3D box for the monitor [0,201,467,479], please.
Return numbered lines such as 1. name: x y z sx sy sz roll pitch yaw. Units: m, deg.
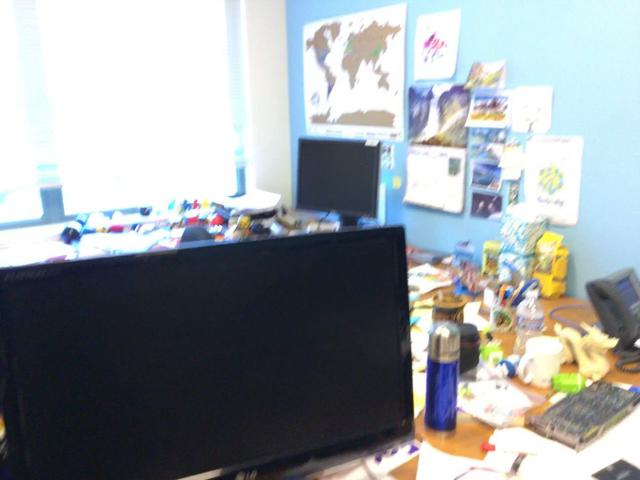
1. monitor: -0.110 0.230 0.870 0.650 0.500 0.170 -7 16 -24
